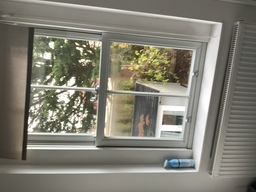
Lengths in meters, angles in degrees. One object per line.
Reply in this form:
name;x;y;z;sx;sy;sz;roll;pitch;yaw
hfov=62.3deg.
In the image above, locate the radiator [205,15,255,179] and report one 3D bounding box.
radiator;0.940;0.060;1.510;0.050;0.630;1.130;-129;43;-75
